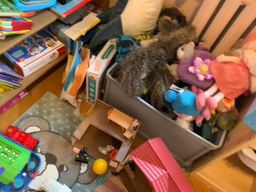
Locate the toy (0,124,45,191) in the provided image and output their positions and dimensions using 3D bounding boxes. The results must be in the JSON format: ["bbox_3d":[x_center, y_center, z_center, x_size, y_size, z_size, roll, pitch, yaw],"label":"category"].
[{"bbox_3d":[-0.510,0.250,0.890,0.250,0.180,0.140,31,56,7],"label":"toy"}]

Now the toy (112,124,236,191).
[{"bbox_3d":[0.180,0.420,0.870,0.320,0.360,0.430,-13,61,-21],"label":"toy"}]

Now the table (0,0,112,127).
[{"bbox_3d":[-0.440,-0.400,0.960,0.260,0.830,0.960,34,56,9],"label":"table"}]
